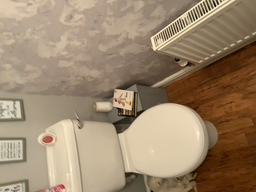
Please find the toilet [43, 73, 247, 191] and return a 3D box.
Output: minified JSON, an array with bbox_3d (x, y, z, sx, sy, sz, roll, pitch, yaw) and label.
[{"bbox_3d":[0.090,0.270,1.160,0.690,0.790,0.440,-28,68,40],"label":"toilet"}]
